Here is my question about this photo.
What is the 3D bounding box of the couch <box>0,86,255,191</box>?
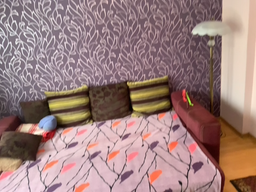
[{"bbox_3d":[-0.360,0.610,2.300,2.530,0.630,1.550,-9,20,-3],"label":"couch"}]
